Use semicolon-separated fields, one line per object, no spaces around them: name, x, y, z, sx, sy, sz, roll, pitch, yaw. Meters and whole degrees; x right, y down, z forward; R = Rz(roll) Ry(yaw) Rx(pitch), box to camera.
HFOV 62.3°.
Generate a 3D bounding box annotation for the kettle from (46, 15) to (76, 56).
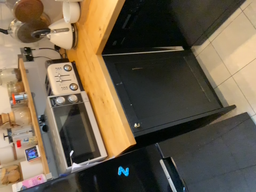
kettle;-0.460;-0.410;1.440;0.210;0.130;0.160;66;146;22
